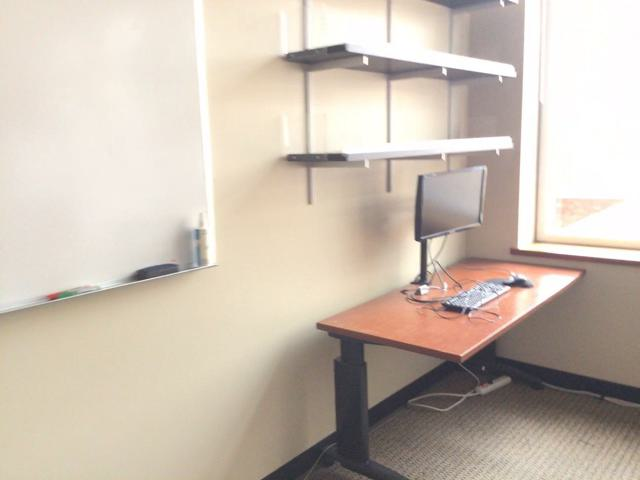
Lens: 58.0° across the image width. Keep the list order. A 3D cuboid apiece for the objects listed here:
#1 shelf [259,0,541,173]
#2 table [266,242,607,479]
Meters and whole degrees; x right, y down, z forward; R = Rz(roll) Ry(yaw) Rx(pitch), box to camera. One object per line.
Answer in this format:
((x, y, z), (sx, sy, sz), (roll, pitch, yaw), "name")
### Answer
((0.460, -0.800, 2.630), (0.490, 0.840, 1.500), (-5, 5, 40), "shelf")
((0.660, 0.560, 2.770), (0.890, 0.820, 1.550), (-5, 5, 40), "table")
